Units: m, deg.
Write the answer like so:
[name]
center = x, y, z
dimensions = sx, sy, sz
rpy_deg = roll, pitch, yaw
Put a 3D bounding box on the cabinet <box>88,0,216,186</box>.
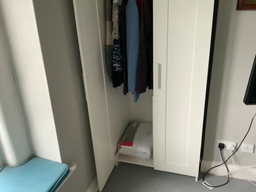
[cabinet]
center = 0.240, -0.220, 1.860
dimensions = 0.870, 1.900, 0.530
rpy_deg = 5, 24, 19
